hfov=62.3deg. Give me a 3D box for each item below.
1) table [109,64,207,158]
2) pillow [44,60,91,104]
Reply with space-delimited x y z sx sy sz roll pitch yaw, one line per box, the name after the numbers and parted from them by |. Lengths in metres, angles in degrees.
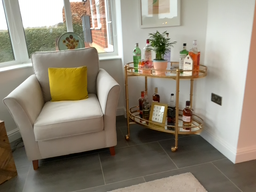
0.300 0.090 2.150 0.820 0.720 0.450 8 21 28 | table
-0.630 -0.140 2.210 0.420 0.350 0.200 7 32 -17 | pillow
